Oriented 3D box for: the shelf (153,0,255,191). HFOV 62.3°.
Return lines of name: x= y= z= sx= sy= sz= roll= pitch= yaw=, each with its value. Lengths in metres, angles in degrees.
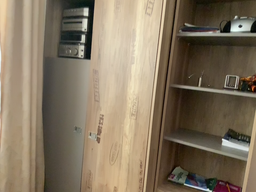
shelf: x=0.540 y=-0.030 z=1.330 sx=0.500 sy=1.280 sz=0.390 roll=10 pitch=7 yaw=30
